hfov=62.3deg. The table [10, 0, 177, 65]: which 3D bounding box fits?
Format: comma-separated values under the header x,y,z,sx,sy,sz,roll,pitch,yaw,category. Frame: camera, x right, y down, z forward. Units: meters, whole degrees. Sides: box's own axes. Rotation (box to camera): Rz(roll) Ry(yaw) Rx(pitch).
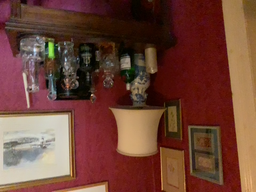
x,y,z,sx,sy,sz,roll,pitch,yaw,category
-0.230,-0.640,1.390,0.930,0.730,0.470,-1,174,-26,table
